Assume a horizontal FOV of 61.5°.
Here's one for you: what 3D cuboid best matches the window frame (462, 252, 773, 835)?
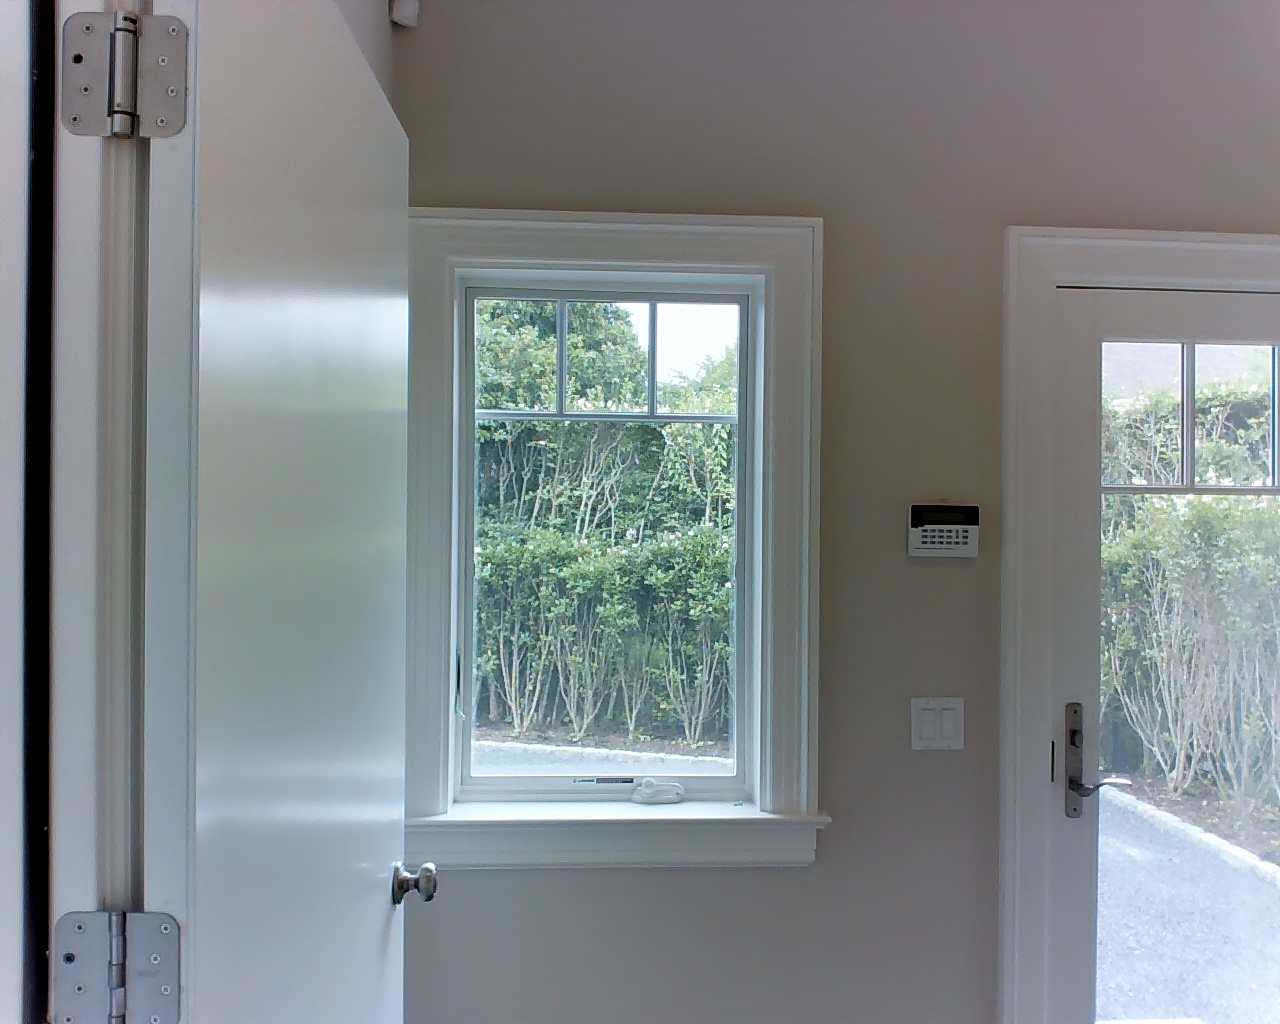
[{"bbox_3d":[-0.050,0.070,2.410,0.660,1.250,0.170,1,0,-3],"label":"window frame"}]

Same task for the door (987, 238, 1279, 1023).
[{"bbox_3d":[1.310,0.510,2.470,0.980,2.220,0.140,1,0,-3],"label":"door"}]
